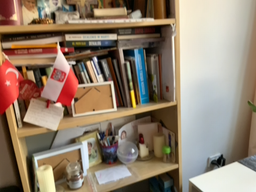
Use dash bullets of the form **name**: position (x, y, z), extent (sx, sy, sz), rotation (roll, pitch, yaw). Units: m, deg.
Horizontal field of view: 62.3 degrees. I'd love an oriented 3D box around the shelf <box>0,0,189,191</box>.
- **shelf**: position (-0.100, 0.210, 0.960), extent (0.710, 1.930, 0.250), rotation (-9, 15, -20)
